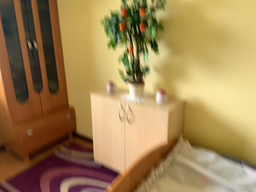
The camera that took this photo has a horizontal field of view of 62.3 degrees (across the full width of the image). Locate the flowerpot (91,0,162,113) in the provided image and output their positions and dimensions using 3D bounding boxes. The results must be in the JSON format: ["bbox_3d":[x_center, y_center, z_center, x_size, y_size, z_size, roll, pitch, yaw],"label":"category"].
[{"bbox_3d":[-0.010,-0.400,1.820,0.460,0.950,0.340,13,22,35],"label":"flowerpot"}]

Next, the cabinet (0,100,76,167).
[{"bbox_3d":[-1.150,0.410,2.660,0.570,0.450,0.740,11,21,32],"label":"cabinet"}]

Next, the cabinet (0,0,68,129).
[{"bbox_3d":[-1.200,-0.560,2.360,0.490,1.590,0.750,11,21,32],"label":"cabinet"}]
